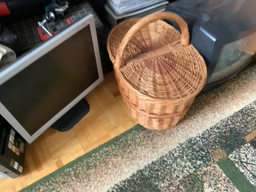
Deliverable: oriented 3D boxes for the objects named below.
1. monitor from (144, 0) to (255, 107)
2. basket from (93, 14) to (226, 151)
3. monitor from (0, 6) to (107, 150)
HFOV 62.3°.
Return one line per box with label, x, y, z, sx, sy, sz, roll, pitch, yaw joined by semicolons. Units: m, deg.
monitor;0.340;-0.260;0.910;0.380;0.350;0.360;-28;60;-18
basket;0.090;-0.060;0.820;0.280;0.270;0.370;-26;60;-17
monitor;-0.240;-0.040;0.740;0.040;0.390;0.400;36;62;21
